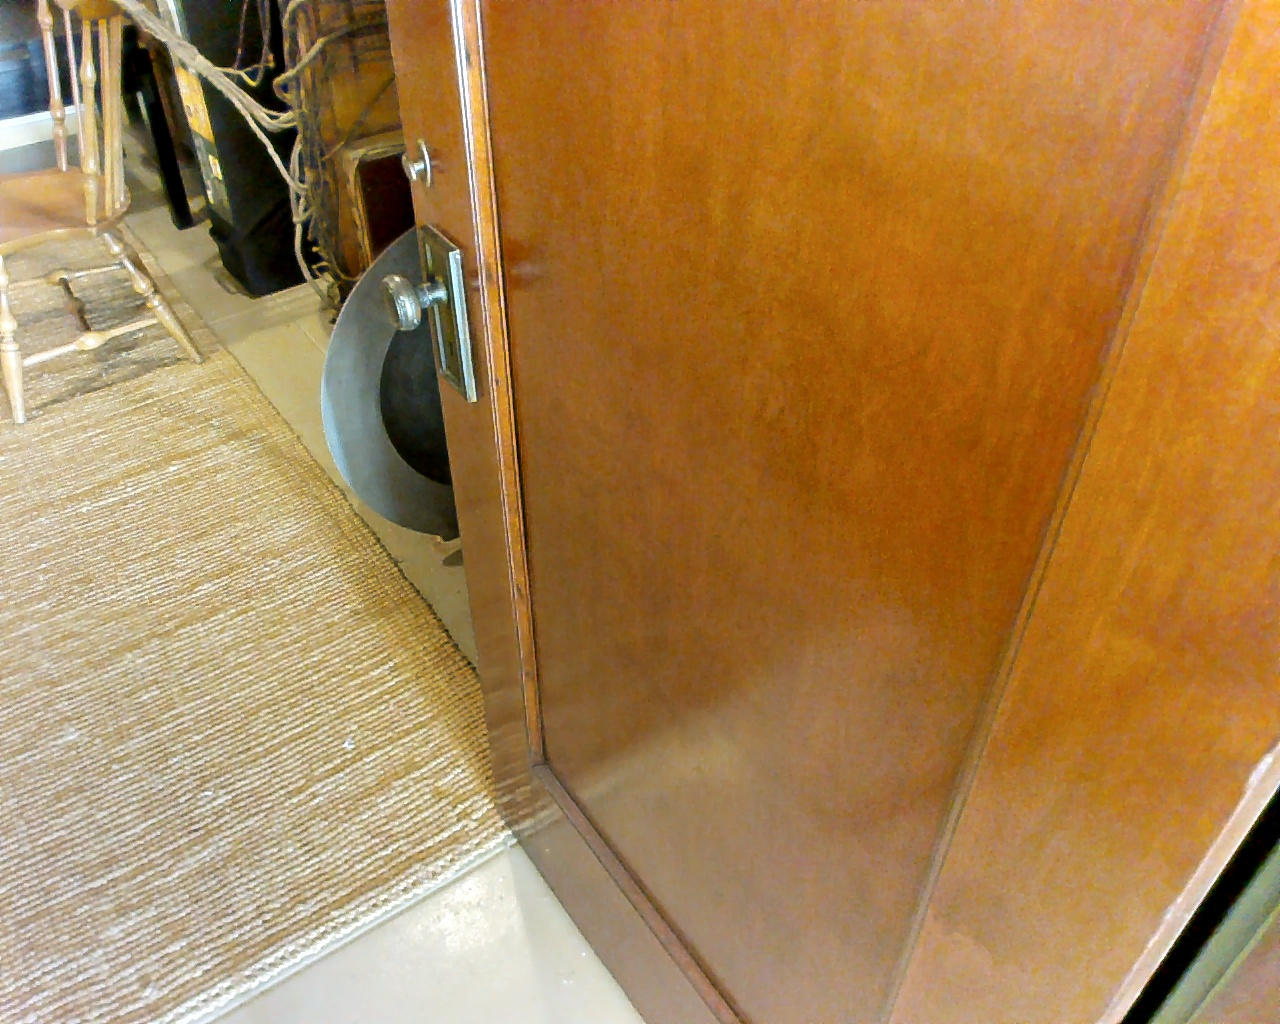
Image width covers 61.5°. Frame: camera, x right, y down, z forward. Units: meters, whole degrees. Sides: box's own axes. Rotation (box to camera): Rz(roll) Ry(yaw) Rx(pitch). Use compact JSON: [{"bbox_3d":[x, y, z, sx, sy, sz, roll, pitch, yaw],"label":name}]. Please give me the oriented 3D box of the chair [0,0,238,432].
[{"bbox_3d":[-1.440,-0.830,2.530,0.570,0.970,0.650,-22,46,-24],"label":"chair"}]
